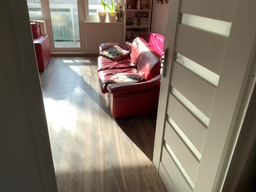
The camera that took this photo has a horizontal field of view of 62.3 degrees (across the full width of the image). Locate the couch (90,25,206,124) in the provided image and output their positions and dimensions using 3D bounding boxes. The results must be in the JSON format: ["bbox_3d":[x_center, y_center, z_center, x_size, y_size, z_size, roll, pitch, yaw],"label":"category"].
[{"bbox_3d":[0.050,-0.590,3.680,1.320,0.840,2.440,-2,27,-10],"label":"couch"}]

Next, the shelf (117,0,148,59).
[{"bbox_3d":[0.110,-2.030,5.000,0.620,2.250,0.420,-2,27,-9],"label":"shelf"}]
